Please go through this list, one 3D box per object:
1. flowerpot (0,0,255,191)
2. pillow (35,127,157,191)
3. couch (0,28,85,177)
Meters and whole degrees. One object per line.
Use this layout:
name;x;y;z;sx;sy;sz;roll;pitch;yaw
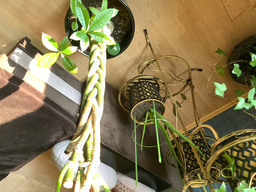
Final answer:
flowerpot;-0.140;-0.150;0.730;0.380;1.150;0.410;-1;130;-8
pillow;-0.140;0.480;1.310;0.220;0.470;0.750;-30;156;22
couch;-0.740;0.080;1.310;0.750;0.500;0.510;-26;129;14
